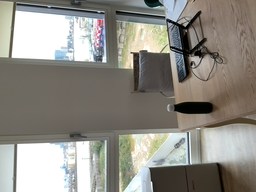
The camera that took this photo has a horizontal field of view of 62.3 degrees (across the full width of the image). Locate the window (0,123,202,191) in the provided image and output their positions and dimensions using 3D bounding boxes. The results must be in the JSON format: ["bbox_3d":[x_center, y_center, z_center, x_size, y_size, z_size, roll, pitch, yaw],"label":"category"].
[{"bbox_3d":[-0.330,0.860,2.410,0.060,2.640,1.050,169,102,-74],"label":"window"}]

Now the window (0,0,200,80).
[{"bbox_3d":[-0.270,-0.690,2.560,0.070,2.480,0.890,150,120,-72],"label":"window"}]

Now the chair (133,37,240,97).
[{"bbox_3d":[0.550,-0.240,2.160,0.590,0.870,0.460,167,104,-74],"label":"chair"}]

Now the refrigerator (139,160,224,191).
[{"bbox_3d":[0.560,0.930,2.270,0.370,0.790,0.390,143,127,-71],"label":"refrigerator"}]
